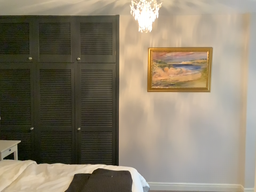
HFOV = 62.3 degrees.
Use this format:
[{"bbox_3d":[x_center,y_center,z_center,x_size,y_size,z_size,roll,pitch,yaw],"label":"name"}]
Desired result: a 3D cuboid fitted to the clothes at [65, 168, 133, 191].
[{"bbox_3d":[-0.220,0.760,1.630,0.520,0.050,0.880,0,4,0],"label":"clothes"}]
